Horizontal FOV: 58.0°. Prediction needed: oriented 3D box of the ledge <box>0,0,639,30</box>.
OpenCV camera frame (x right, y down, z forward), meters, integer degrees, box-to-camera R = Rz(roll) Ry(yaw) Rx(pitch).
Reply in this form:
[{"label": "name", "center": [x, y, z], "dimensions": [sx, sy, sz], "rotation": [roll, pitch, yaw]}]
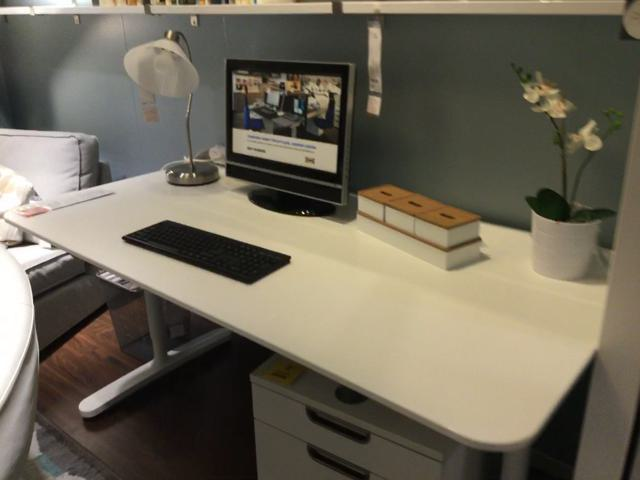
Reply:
[{"label": "ledge", "center": [-0.410, -0.730, 1.860], "dimensions": [2.710, 0.100, 0.250], "rotation": [15, 25, 35]}]
